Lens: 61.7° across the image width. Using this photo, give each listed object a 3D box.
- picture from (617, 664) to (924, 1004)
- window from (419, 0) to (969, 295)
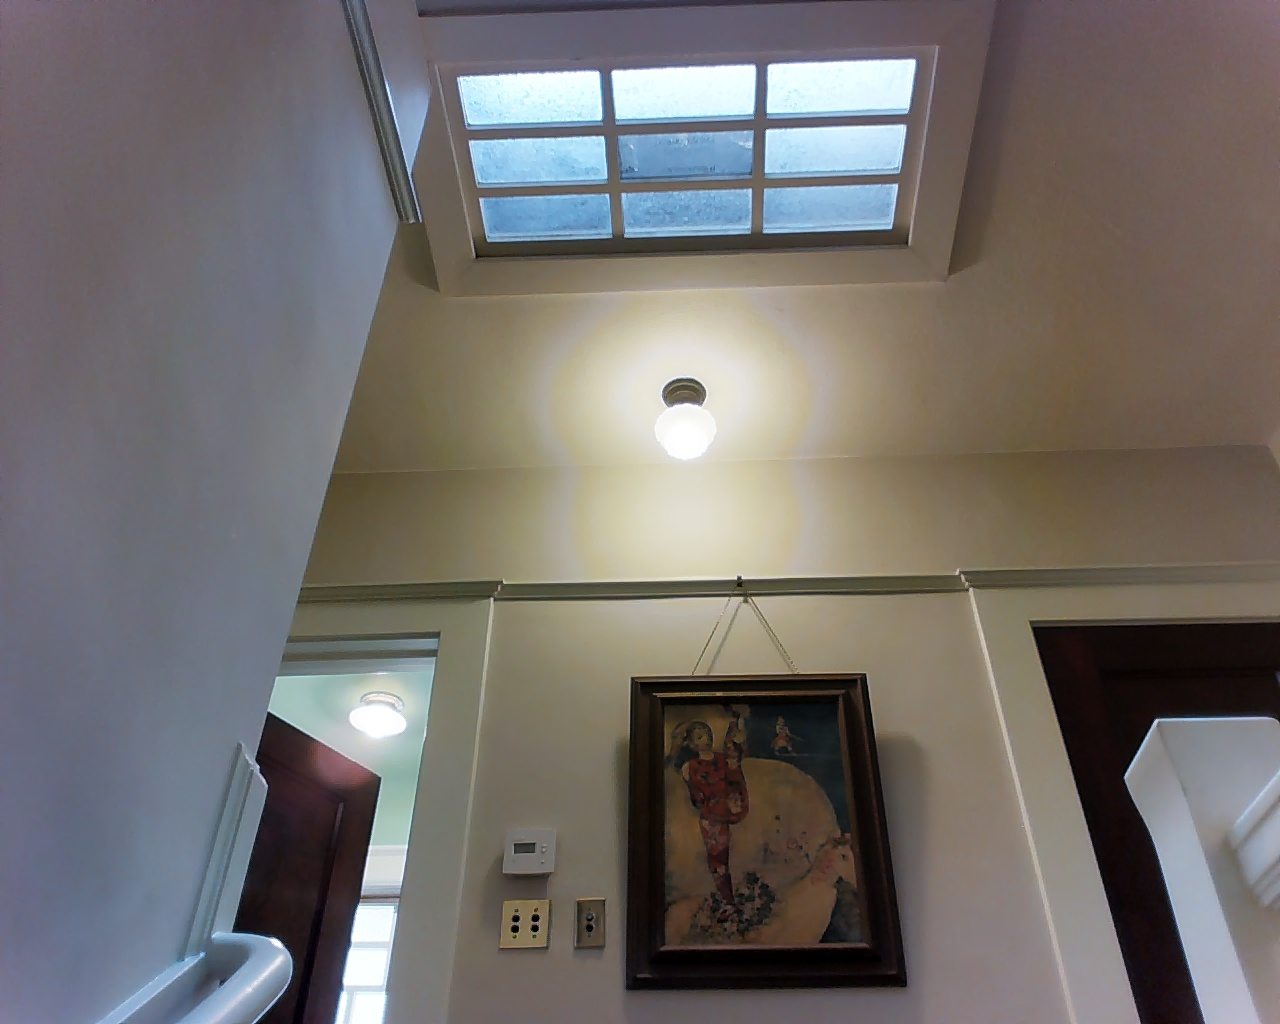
[{"bbox_3d":[0.280,0.740,2.580,0.650,0.810,0.090,-1,-41,2],"label":"picture"},{"bbox_3d":[0.130,-0.860,2.610,1.190,0.080,0.700,-2,-41,3],"label":"window"}]
